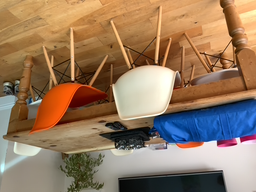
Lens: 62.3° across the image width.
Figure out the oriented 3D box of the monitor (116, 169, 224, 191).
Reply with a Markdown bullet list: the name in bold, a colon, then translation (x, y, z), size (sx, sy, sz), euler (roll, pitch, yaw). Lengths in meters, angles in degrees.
- **monitor**: translation (0.450, 1.250, 2.360), size (1.220, 0.740, 0.040), euler (-11, 158, 19)

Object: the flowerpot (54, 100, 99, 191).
- **flowerpot**: translation (-0.700, 0.790, 2.990), size (0.500, 1.410, 0.260), euler (-10, 155, 16)
